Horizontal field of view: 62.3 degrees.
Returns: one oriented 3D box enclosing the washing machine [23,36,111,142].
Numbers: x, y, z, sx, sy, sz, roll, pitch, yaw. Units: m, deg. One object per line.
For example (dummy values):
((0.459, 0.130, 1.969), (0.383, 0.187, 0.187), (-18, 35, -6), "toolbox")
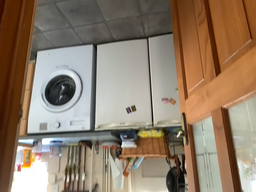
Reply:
((-0.560, -0.020, 2.210), (0.600, 0.890, 0.650), (-5, 163, 11), "washing machine")
